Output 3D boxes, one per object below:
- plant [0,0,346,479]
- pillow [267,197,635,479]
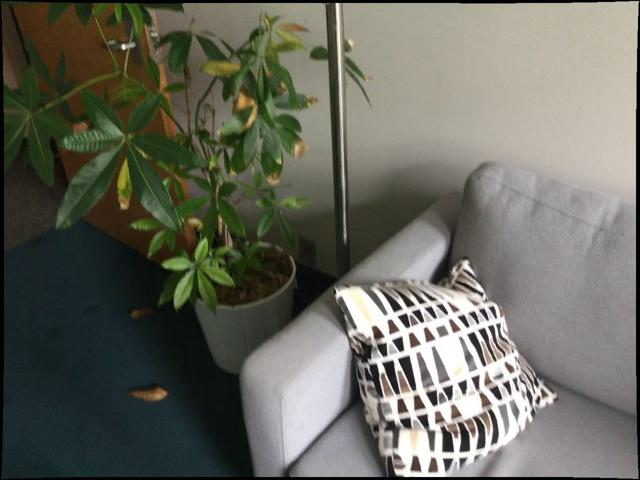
[{"bbox_3d":[-0.469,-0.140,1.580,0.689,1.342,0.750,24,45,35],"label":"plant"},{"bbox_3d":[0.269,0.241,1.160,0.430,0.320,0.580,24,45,35],"label":"pillow"}]
